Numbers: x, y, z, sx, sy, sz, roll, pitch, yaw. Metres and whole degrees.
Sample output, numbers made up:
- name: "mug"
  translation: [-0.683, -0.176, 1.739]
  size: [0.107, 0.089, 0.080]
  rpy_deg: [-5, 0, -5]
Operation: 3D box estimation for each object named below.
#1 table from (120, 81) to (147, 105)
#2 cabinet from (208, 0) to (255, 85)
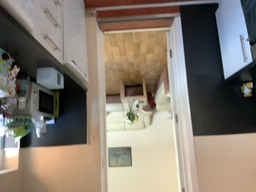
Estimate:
- name: "table"
  translation: [0.140, -0.070, 5.230]
  size: [0.600, 0.450, 0.600]
  rpy_deg: [-3, 169, 1]
- name: "cabinet"
  translation: [1.160, -0.620, 1.920]
  size: [0.580, 0.910, 0.520]
  rpy_deg: [-3, 169, 1]
